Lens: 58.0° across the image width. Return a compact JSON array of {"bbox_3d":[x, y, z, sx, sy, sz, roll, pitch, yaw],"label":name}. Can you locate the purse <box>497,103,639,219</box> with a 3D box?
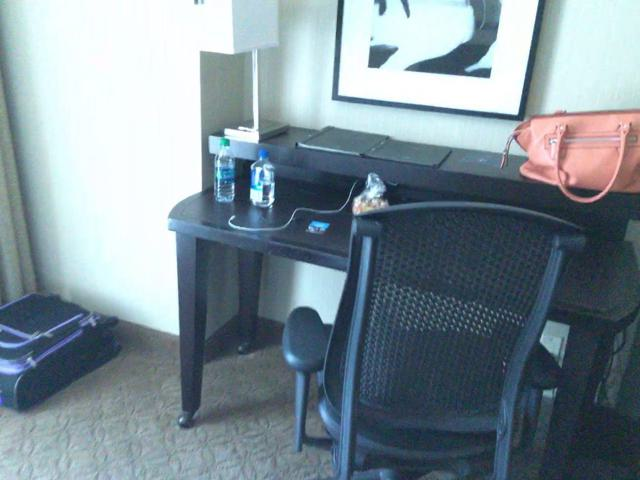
[{"bbox_3d":[0.740,-0.240,1.650,0.390,0.270,0.280,7,19,24],"label":"purse"}]

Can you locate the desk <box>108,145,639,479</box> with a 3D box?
[{"bbox_3d":[0.180,0.260,1.890,1.450,0.960,0.620,0,15,24],"label":"desk"}]

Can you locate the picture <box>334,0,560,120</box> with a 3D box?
[{"bbox_3d":[0.370,-0.860,1.790,0.690,0.910,0.090,2,17,26],"label":"picture"}]
